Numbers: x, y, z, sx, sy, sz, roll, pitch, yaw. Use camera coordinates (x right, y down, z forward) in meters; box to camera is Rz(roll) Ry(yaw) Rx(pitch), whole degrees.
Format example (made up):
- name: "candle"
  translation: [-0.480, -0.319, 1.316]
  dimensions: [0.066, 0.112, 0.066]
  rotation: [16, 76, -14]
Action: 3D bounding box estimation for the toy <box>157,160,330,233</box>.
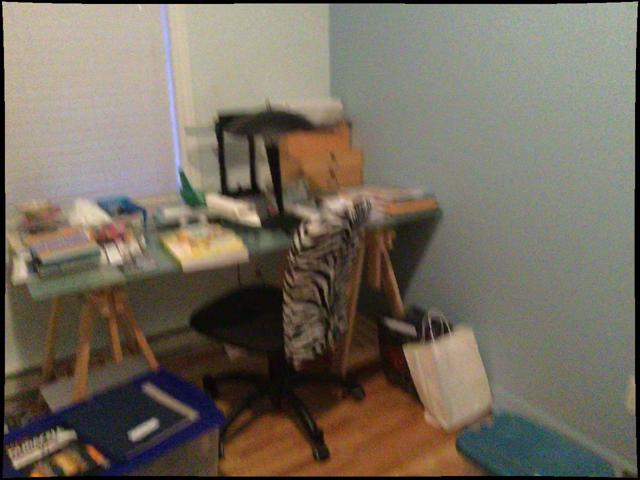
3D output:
- name: "toy"
  translation: [-0.310, -0.190, 2.270]
  dimensions: [0.420, 0.100, 0.570]
  rotation: [-19, 26, -38]
